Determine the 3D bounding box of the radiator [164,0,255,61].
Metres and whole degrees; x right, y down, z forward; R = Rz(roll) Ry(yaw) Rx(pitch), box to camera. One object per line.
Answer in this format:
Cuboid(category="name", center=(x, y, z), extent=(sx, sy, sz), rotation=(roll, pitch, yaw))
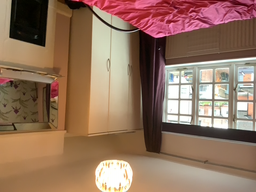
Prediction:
Cuboid(category="radiator", center=(1.290, -1.020, 3.370), extent=(1.560, 0.760, 0.080), rotation=(1, 178, 40))
